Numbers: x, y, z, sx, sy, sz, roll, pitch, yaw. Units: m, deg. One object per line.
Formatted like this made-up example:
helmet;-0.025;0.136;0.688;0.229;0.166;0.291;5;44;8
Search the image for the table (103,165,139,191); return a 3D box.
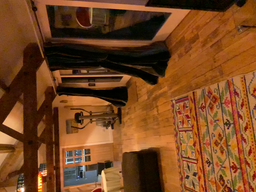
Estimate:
table;-0.210;2.550;5.830;1.060;0.750;1.090;136;130;-71
